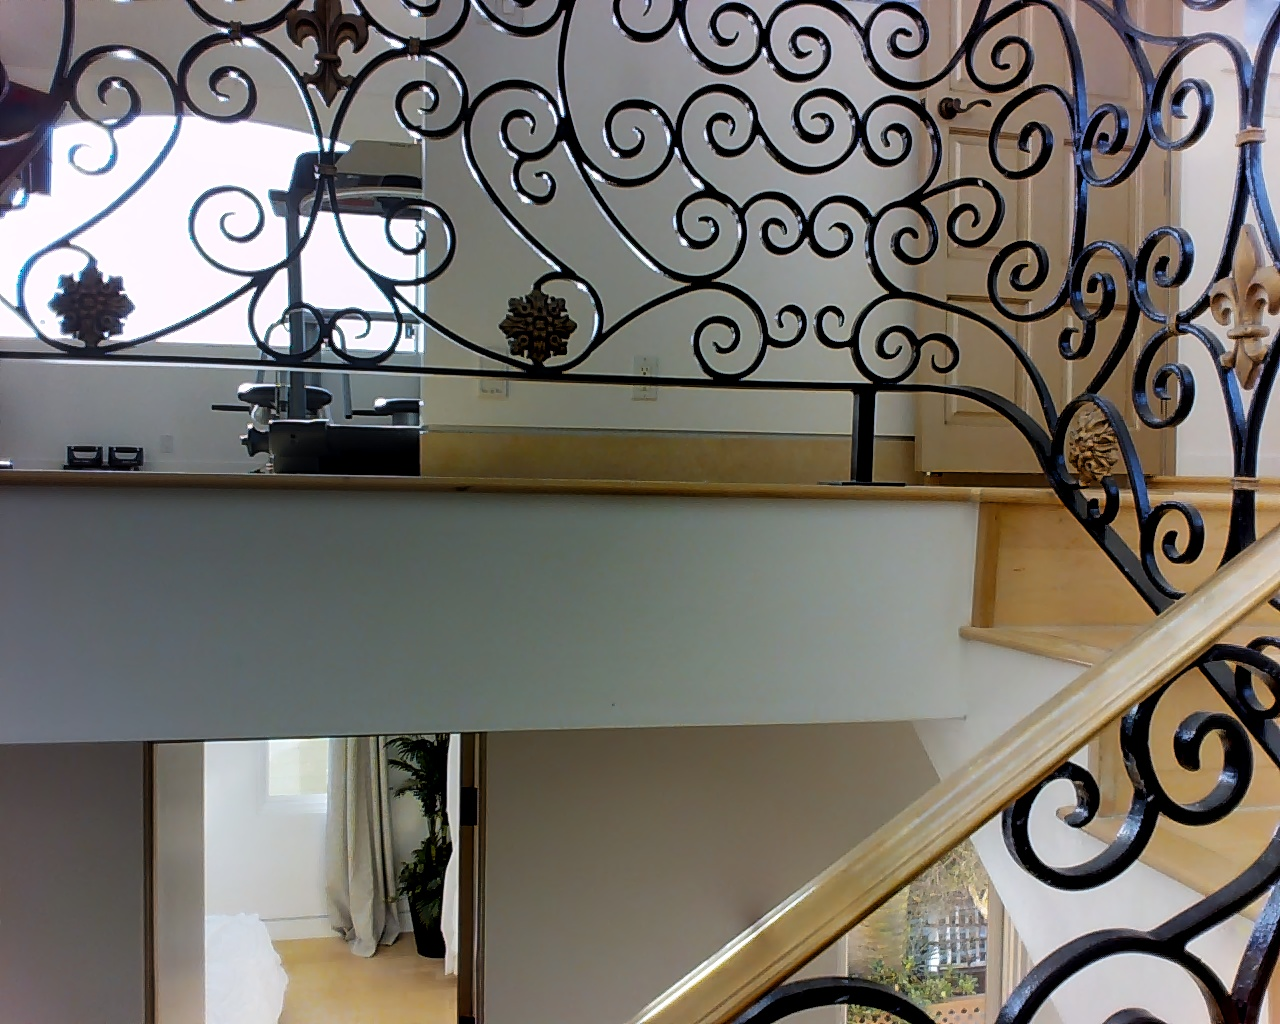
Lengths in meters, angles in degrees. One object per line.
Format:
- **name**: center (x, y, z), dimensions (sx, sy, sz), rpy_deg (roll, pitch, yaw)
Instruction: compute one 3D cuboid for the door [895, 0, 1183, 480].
- **door**: center (1.110, -1.311, 2.950), dimensions (0.810, 2.431, 0.070), rpy_deg (1, 1, -12)
